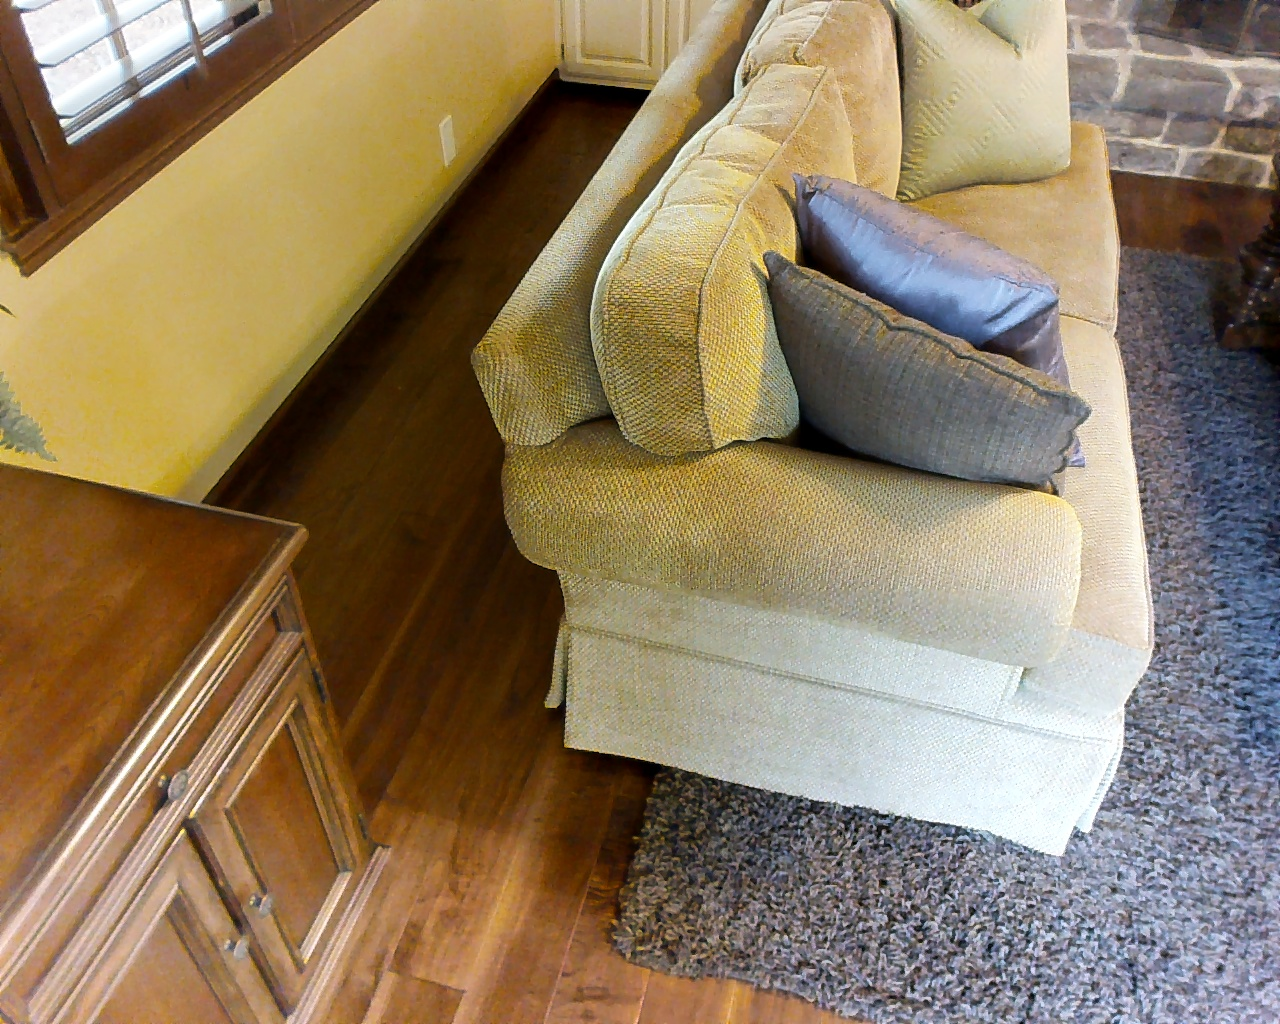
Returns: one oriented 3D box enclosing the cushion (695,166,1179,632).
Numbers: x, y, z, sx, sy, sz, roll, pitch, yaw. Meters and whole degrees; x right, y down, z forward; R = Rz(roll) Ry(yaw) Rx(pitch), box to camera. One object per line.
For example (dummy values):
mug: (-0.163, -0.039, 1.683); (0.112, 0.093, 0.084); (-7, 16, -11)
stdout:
cushion: (0.390, -0.140, 1.520); (0.460, 0.430, 0.210); (45, 54, 5)

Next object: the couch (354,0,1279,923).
couch: (0.490, -0.470, 2.190); (1.120, 0.950, 2.010); (12, 44, 12)

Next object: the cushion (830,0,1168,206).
cushion: (0.760, -0.950, 2.360); (0.470, 0.440, 0.310); (-6, 56, -21)
